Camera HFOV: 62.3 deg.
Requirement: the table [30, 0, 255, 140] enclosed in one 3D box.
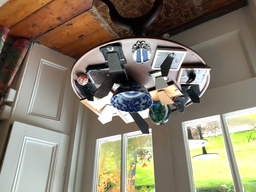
[{"bbox_3d":[0.070,-0.180,1.280,1.160,0.600,0.490,-16,147,26],"label":"table"}]
